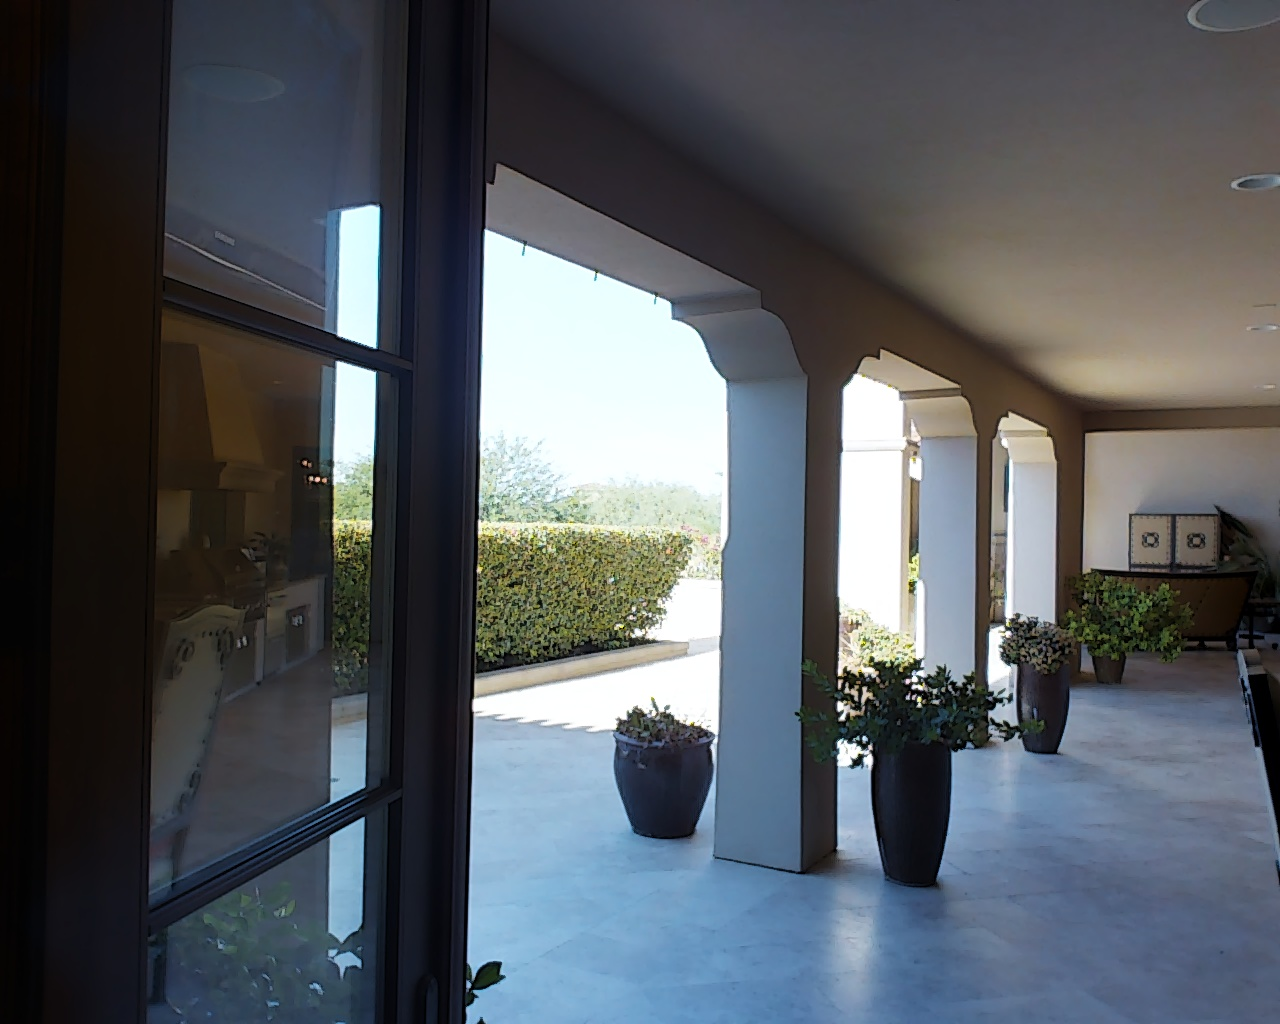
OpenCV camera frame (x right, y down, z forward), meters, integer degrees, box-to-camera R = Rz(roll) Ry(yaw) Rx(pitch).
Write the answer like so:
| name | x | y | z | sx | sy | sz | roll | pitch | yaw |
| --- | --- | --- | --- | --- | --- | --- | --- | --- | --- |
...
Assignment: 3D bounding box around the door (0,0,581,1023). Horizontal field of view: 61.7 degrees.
| name | x | y | z | sx | sy | sz | roll | pitch | yaw |
| --- | --- | --- | --- | --- | --- | --- | --- | --- | --- |
| door | -0.340 | 0.360 | 1.180 | 0.180 | 2.430 | 1.070 | 1 | 0 | 15 |
